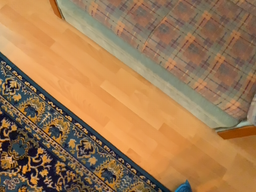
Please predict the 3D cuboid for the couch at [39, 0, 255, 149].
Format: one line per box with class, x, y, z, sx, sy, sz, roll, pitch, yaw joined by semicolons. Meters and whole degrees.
couch;0.320;-0.580;1.080;1.560;0.850;0.880;37;77;6
